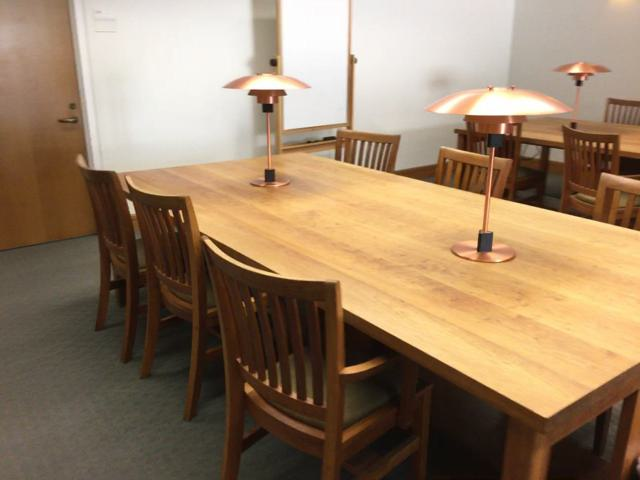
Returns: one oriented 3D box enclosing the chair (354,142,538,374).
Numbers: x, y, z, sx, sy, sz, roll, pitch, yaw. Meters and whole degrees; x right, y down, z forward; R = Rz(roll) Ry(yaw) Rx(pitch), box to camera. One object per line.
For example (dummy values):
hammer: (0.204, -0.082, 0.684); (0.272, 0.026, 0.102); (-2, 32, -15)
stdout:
chair: (0.600, 0.040, 2.870); (0.630, 0.910, 0.570); (-15, 22, -32)

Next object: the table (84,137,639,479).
table: (0.160, 0.200, 2.550); (1.510, 0.840, 2.720); (-15, 22, -32)

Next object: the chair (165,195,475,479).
chair: (0.000, 0.420, 1.730); (0.620, 0.920, 0.590); (-15, 23, -32)

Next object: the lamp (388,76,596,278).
lamp: (0.530, -0.240, 1.880); (0.390, 0.530, 0.480); (-15, 22, -32)

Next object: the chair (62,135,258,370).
chair: (-0.780, 0.010, 2.880); (0.670, 0.930, 0.580); (-15, 23, -32)

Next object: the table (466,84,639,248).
table: (2.580, -0.560, 4.130); (1.420, 0.900, 2.680); (-15, 22, -32)

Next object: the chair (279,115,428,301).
chair: (0.200, -0.240, 3.580); (0.590, 0.940, 0.680); (-15, 22, -32)

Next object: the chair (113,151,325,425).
chair: (-0.410, 0.150, 2.470); (0.650, 0.910, 0.530); (-15, 23, -32)
